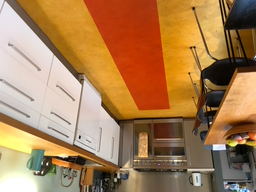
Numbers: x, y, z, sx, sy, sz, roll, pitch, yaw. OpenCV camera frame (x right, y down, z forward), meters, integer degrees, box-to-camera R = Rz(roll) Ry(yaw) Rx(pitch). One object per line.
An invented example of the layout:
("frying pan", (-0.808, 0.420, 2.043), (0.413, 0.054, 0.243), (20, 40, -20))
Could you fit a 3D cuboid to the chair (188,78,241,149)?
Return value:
("chair", (1.050, 0.240, 2.690), (0.480, 0.740, 0.520), (-5, 156, 15))
